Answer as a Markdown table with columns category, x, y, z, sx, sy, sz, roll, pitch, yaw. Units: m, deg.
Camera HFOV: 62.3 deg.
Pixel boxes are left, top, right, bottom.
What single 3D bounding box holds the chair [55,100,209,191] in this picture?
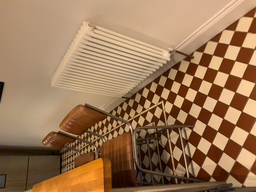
| category | x | y | z | sx | sy | sz | roll | pitch | yaw |
| --- | --- | --- | --- | --- | --- | --- | --- | --- | --- |
| chair | 0.040 | 0.400 | 1.500 | 0.410 | 0.960 | 0.500 | -36 | 52 | 49 |
